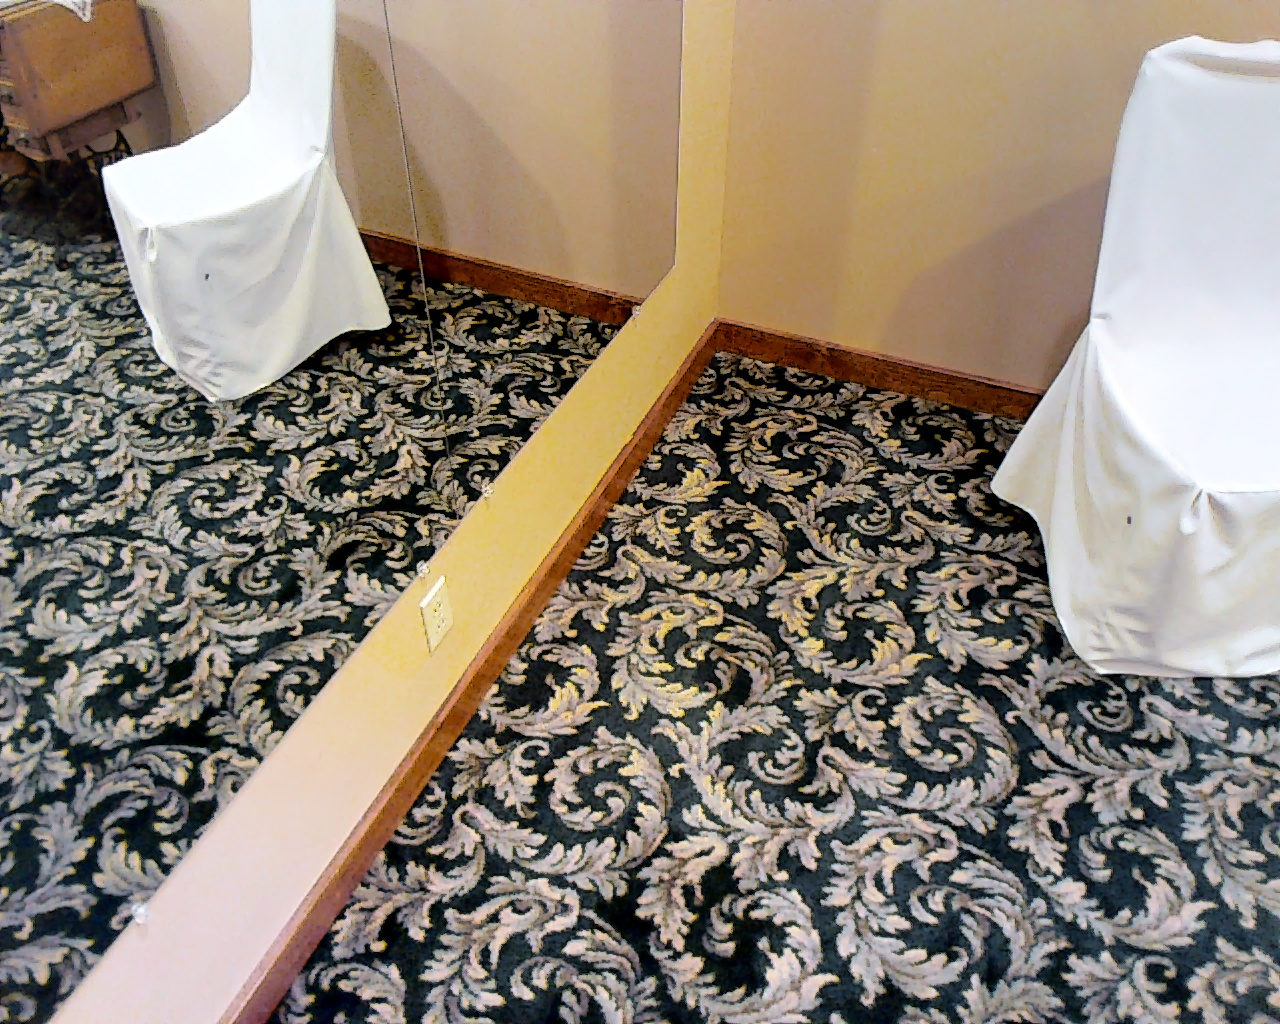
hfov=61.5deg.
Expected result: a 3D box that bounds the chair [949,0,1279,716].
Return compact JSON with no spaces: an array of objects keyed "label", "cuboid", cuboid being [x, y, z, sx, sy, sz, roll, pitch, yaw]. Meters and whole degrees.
[{"label":"chair","cuboid":[1.070,-0.270,1.900,0.620,1.040,0.670,-6,42,-7]}]
